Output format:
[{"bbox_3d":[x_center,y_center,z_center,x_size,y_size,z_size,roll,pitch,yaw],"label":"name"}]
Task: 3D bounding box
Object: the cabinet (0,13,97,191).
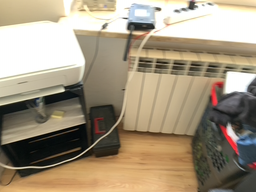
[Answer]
[{"bbox_3d":[-0.430,0.130,1.070,0.460,0.940,0.330,-11,50,-16],"label":"cabinet"}]
